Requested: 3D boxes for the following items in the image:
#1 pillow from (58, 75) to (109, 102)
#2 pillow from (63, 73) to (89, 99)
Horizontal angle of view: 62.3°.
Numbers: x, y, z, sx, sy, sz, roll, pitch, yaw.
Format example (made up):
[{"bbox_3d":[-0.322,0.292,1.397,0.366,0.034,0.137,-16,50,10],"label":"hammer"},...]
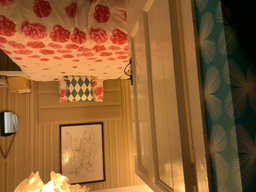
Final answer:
[{"bbox_3d":[-0.710,-0.120,3.380,0.760,0.380,0.280,-1,173,-15],"label":"pillow"},{"bbox_3d":[-0.760,-0.140,3.120,0.360,0.360,0.270,0,176,-13],"label":"pillow"}]
